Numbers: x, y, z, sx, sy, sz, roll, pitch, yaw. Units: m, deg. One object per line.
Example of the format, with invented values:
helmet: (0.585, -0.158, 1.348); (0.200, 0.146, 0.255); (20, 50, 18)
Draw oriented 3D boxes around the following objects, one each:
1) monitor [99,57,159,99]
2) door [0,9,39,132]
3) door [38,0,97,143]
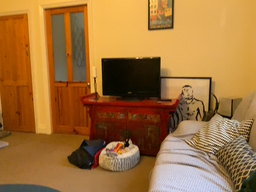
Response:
monitor: (0.000, -0.240, 2.770); (0.810, 0.520, 0.040); (2, 8, 18)
door: (-1.890, -0.380, 3.510); (0.790, 1.940, 0.050); (2, 8, 17)
door: (-0.920, -0.350, 3.280); (0.790, 2.110, 0.200); (2, 8, 17)
